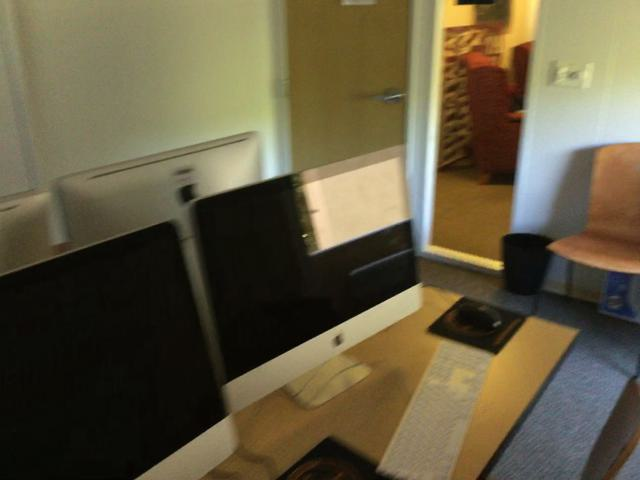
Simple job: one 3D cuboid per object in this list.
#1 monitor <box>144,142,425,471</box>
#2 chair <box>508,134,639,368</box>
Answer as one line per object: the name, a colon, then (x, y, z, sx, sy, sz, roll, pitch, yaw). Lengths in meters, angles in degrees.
monitor: (-0.030, 0.090, 1.090, 0.530, 0.450, 0.130, -20, 30, -39)
chair: (1.200, 0.010, 2.430, 0.550, 0.760, 0.520, 16, 27, 34)
